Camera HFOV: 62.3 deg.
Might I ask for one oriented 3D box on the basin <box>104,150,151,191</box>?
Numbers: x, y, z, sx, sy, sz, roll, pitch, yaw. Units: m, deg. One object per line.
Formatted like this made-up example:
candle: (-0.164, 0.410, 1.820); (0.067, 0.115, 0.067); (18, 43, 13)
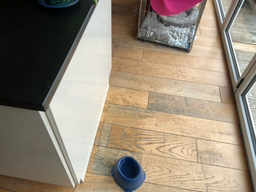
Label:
basin: (0.000, 0.460, 1.270); (0.250, 0.070, 0.220); (8, 51, 2)
